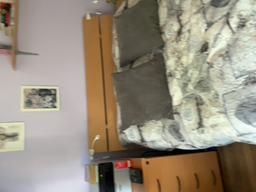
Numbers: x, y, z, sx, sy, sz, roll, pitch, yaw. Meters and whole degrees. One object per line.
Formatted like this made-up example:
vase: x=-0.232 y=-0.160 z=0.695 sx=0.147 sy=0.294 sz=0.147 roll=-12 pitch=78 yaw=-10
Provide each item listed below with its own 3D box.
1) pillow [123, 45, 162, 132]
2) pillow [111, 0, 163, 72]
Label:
pillow: x=0.100 y=-0.020 z=1.610 sx=0.210 sy=0.490 sz=0.530 roll=-5 pitch=75 yaw=2
pillow: x=0.050 y=-0.540 z=1.770 sx=0.220 sy=0.440 sz=0.560 roll=1 pitch=77 yaw=-23
